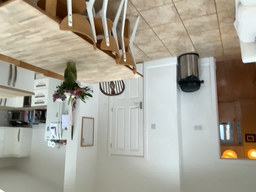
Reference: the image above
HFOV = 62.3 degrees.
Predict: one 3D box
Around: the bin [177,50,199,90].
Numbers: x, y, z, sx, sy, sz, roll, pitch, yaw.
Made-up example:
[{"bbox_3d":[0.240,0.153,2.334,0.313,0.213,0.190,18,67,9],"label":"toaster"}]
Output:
[{"bbox_3d":[1.190,-0.500,4.210,0.380,0.700,0.270,-3,169,23],"label":"bin"}]
